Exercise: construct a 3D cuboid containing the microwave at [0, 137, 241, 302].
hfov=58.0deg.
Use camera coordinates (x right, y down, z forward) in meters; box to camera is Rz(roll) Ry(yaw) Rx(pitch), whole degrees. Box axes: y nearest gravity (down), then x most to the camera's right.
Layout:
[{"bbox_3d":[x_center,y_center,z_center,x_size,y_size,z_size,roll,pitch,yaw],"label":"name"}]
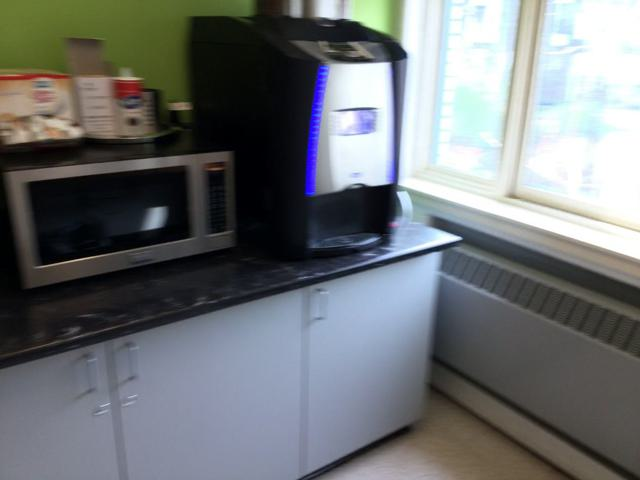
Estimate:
[{"bbox_3d":[-0.520,-0.080,1.580,0.630,0.350,0.100,-11,22,-35],"label":"microwave"}]
